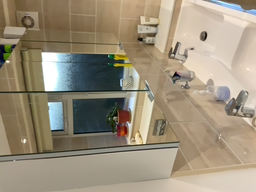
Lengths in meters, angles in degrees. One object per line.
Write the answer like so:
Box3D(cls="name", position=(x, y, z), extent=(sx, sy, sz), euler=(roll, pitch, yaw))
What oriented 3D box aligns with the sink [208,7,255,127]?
Box3D(cls="sink", position=(0.620, -0.110, 0.940), extent=(0.590, 0.100, 0.440), euler=(-113, 27, -57))
